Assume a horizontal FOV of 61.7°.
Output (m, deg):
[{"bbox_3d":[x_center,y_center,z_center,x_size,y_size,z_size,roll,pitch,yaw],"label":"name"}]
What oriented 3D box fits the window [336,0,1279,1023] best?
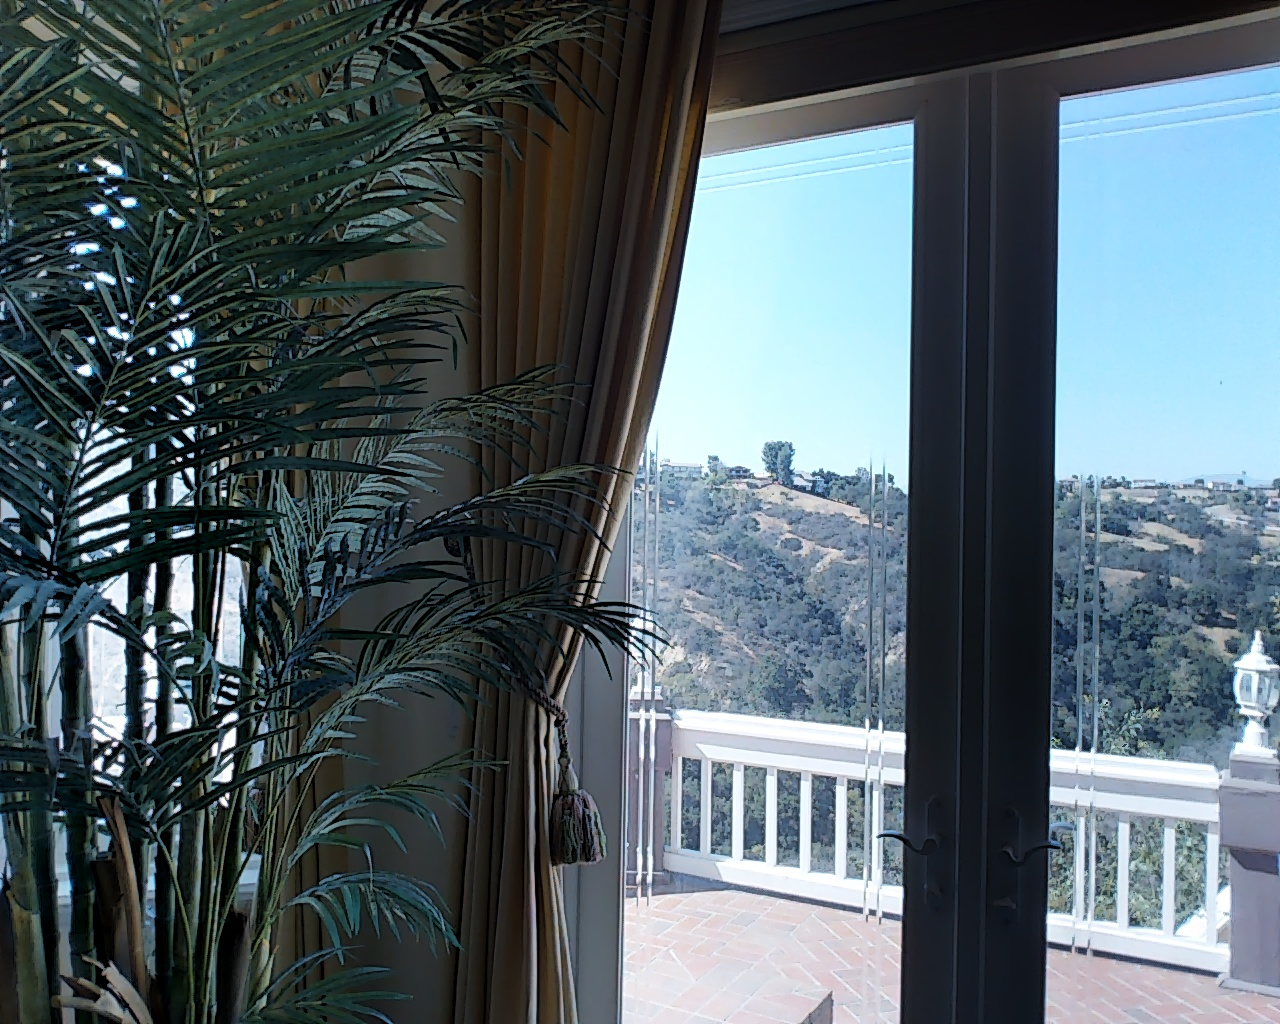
[{"bbox_3d":[0.370,-0.050,1.810,2.050,3.040,0.260,1,-1,28],"label":"window"}]
